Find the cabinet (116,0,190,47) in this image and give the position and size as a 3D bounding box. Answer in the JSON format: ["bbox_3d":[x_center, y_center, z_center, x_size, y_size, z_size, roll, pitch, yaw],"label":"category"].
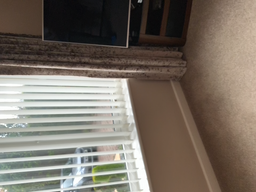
[{"bbox_3d":[0.240,-1.150,2.230,0.820,0.460,1.200,-144,56,-67],"label":"cabinet"}]
